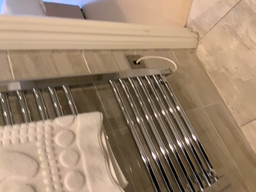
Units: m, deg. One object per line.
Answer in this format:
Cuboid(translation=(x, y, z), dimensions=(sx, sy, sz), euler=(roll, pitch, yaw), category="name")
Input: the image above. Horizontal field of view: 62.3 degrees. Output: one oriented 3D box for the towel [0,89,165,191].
Cuboid(translation=(-0.140, 0.160, 0.470), dimensions=(0.120, 0.370, 0.290), euler=(-44, 62, 48), category="towel")
